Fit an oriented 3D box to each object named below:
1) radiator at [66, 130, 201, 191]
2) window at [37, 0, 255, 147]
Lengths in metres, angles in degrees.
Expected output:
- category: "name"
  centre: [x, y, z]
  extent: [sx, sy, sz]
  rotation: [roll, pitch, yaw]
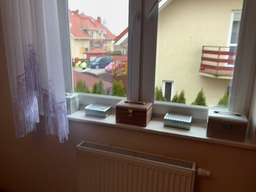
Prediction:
- category: "radiator"
  centre: [0.010, 0.680, 1.490]
  extent: [0.880, 0.730, 0.170]
  rotation: [6, 16, 18]
- category: "window"
  centre: [0.120, -0.600, 1.440]
  extent: [1.600, 1.690, 0.210]
  rotation: [6, 16, 17]
